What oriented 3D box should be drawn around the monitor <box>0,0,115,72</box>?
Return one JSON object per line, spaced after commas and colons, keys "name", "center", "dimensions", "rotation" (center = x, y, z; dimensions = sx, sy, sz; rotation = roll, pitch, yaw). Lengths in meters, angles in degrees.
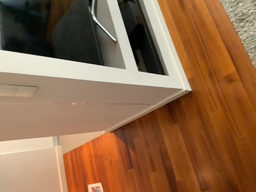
{"name": "monitor", "center": [-0.420, -0.590, 1.230], "dimensions": [0.050, 0.600, 0.910], "rotation": [-29, 68, 42]}
